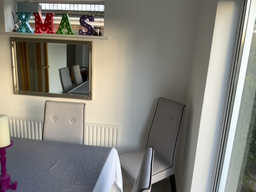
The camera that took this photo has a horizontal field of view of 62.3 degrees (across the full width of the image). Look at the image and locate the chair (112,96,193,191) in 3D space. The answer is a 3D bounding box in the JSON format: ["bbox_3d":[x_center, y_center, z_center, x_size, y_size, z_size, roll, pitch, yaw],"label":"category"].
[{"bbox_3d":[0.220,0.580,2.140,0.570,1.030,0.460,-6,17,-35],"label":"chair"}]

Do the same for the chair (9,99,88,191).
[{"bbox_3d":[-0.610,0.610,1.810,0.420,1.040,0.580,3,13,0],"label":"chair"}]
